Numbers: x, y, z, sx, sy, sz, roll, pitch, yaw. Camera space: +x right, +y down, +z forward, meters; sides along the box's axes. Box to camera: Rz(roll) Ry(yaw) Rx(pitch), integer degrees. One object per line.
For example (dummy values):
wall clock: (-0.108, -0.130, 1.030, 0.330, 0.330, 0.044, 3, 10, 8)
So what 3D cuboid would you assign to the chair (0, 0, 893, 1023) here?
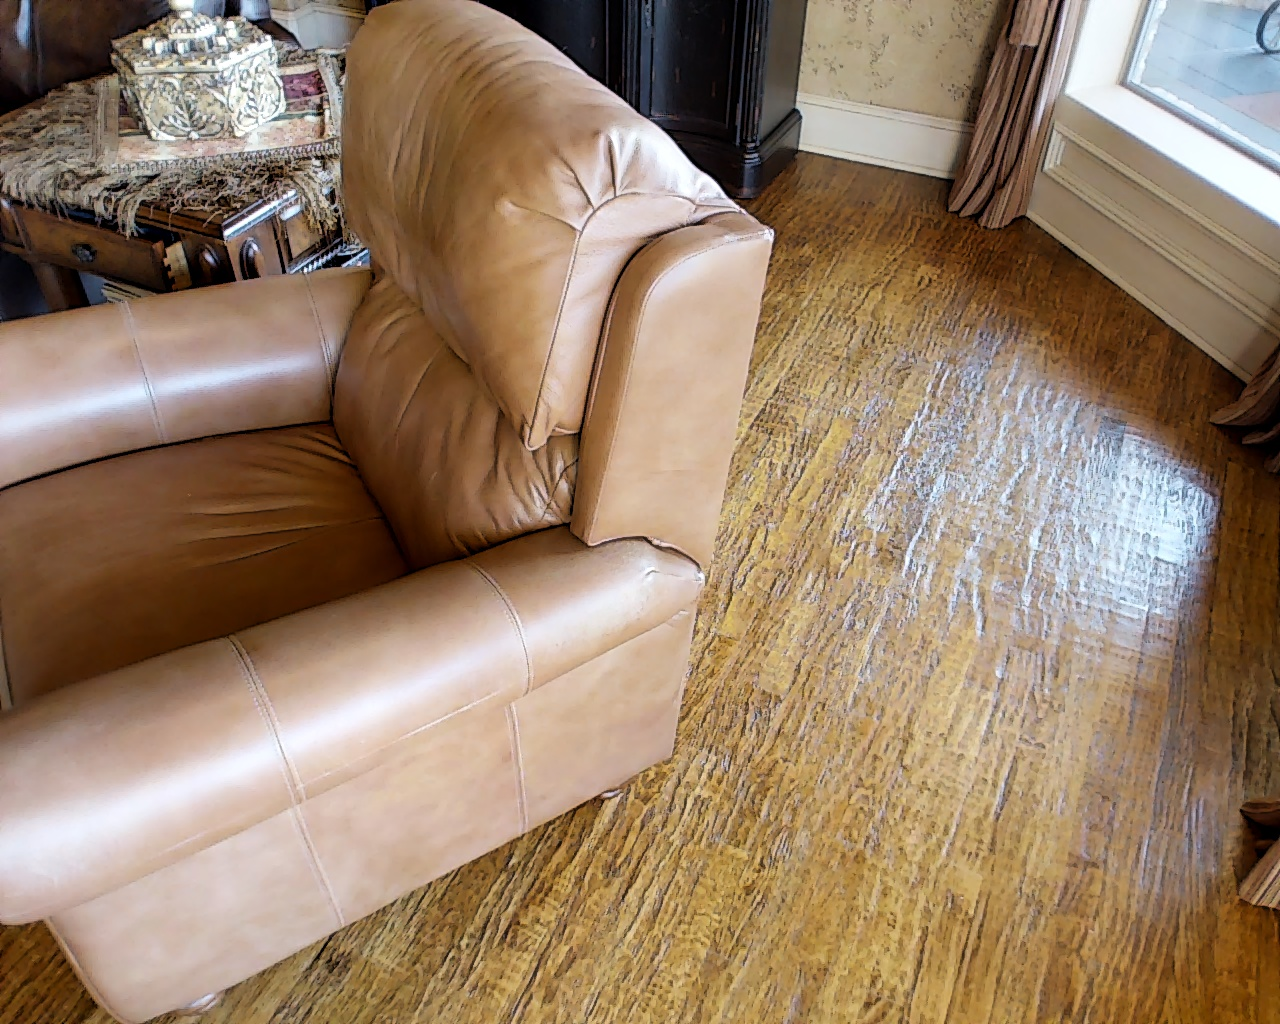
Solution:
chair: (-0.440, -0.020, 1.520, 0.960, 1.140, 1.010, -20, 47, -22)

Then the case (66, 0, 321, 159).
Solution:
case: (-0.820, -0.840, 2.000, 0.280, 0.200, 0.290, 18, 45, 18)
